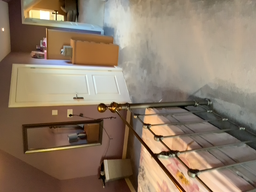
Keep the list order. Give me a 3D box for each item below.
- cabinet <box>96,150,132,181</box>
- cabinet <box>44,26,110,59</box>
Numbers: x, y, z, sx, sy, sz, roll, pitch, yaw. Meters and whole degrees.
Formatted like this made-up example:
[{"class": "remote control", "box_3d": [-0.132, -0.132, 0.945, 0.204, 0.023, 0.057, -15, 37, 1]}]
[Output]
[{"class": "cabinet", "box_3d": [-0.280, 1.310, 4.030, 0.250, 0.570, 0.430, 118, 144, -49]}, {"class": "cabinet", "box_3d": [-1.300, -1.320, 5.260, 0.960, 1.460, 0.610, -142, 55, -62]}]
